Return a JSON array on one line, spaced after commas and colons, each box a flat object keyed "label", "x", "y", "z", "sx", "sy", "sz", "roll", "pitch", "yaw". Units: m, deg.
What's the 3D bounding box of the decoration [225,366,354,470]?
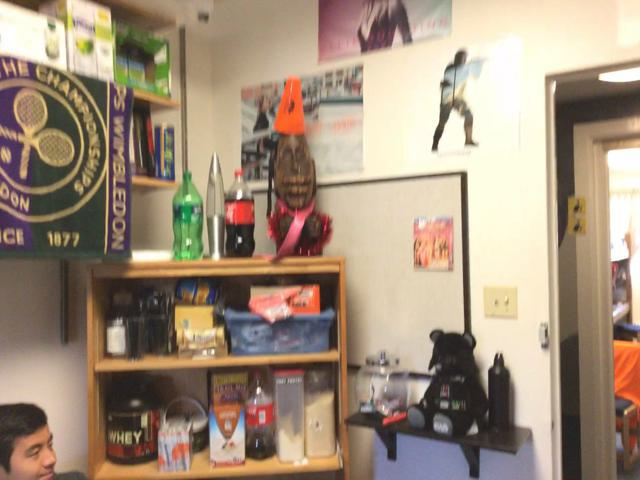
[{"label": "decoration", "x": -0.110, "y": 0.650, "z": 2.180, "sx": 0.340, "sy": 0.250, "sz": 0.350, "roll": -1, "pitch": -1, "yaw": 34}]

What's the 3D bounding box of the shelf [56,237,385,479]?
[{"label": "shelf", "x": -0.340, "y": 0.770, "z": 2.140, "sx": 0.880, "sy": 1.540, "sz": 0.800, "roll": -1, "pitch": -1, "yaw": 34}]
